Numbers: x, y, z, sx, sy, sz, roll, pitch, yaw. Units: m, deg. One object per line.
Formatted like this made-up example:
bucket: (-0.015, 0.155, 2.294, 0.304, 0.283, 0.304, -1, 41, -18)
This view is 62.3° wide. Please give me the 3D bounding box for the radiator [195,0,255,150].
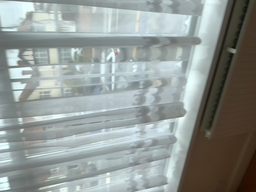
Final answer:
radiator: (0.830, -0.250, 1.220, 0.130, 0.660, 1.180, -129, 39, -55)
